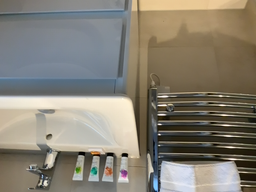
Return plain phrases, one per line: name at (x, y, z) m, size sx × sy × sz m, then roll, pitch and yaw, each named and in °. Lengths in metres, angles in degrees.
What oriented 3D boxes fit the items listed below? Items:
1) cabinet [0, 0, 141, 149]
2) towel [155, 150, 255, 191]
cabinet at (-0.280, -0.140, 0.800) m, size 0.640 × 0.540 × 0.430 m, roll 0°, pitch 150°, yaw 5°
towel at (0.230, 0.330, 0.640) m, size 0.290 × 0.300 × 0.150 m, roll 0°, pitch 159°, yaw 7°
